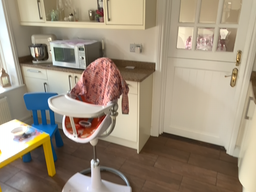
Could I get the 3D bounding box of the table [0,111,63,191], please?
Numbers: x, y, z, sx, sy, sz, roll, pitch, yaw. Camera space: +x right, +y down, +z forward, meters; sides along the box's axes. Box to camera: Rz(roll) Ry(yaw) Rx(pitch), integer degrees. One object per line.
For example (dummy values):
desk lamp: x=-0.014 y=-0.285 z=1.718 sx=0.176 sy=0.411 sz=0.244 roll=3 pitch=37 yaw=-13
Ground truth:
table: x=-1.080 y=0.540 z=2.030 sx=0.580 sy=0.500 sz=0.590 roll=11 pitch=25 yaw=25
